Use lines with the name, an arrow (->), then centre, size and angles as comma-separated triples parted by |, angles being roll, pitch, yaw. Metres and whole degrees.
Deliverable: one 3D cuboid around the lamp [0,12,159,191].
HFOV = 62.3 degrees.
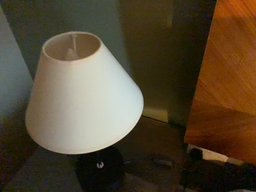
lamp -> -0.130, 0.090, 0.510 | 0.320, 0.460, 0.220 | 15, 47, 16
